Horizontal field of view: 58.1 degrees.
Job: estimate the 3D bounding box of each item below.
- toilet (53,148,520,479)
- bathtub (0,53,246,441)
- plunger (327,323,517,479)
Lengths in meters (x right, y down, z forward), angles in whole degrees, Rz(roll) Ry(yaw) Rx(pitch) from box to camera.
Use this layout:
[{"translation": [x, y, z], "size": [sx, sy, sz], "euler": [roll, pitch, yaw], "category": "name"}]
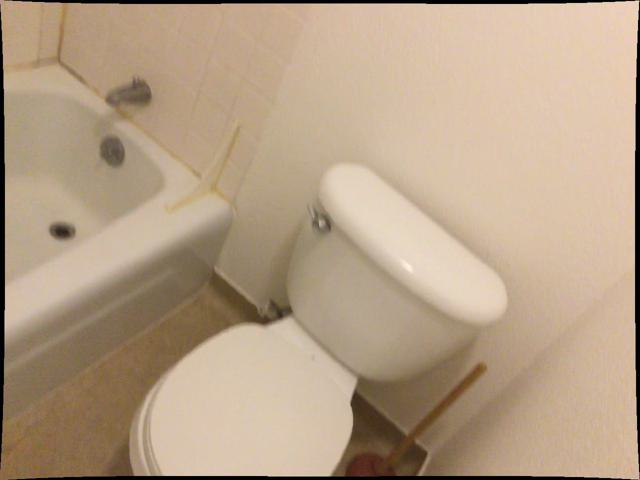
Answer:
[{"translation": [-0.080, 0.321, 1.240], "size": [0.480, 0.720, 0.710], "euler": [39, 40, 12], "category": "toilet"}, {"translation": [-0.909, 0.060, 1.290], "size": [0.770, 0.390, 1.290], "euler": [39, 40, 12], "category": "bathtub"}, {"translation": [0.230, 0.461, 1.410], "size": [0.160, 0.550, 0.170], "euler": [39, 40, 12], "category": "plunger"}]
